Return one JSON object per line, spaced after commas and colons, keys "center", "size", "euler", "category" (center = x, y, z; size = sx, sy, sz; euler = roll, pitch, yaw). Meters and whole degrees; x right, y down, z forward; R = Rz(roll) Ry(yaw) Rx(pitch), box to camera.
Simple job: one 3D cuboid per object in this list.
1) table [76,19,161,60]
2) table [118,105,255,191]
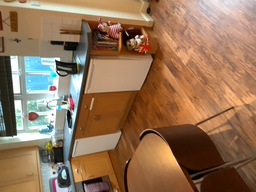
{"center": [-0.110, -0.660, 2.530], "size": [0.340, 0.920, 0.280], "euler": [64, 146, 37], "category": "table"}
{"center": [0.510, 0.690, 1.650], "size": [0.820, 0.760, 0.850], "euler": [65, 146, 37], "category": "table"}
